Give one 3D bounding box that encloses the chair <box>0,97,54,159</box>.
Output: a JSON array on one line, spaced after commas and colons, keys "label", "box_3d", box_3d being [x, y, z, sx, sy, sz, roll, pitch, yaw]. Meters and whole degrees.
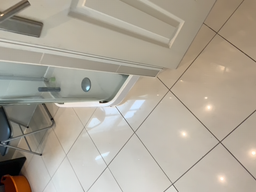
[{"label": "chair", "box_3d": [-1.220, 0.310, 2.050, 0.420, 0.750, 0.410, 51, 121, 28]}]
